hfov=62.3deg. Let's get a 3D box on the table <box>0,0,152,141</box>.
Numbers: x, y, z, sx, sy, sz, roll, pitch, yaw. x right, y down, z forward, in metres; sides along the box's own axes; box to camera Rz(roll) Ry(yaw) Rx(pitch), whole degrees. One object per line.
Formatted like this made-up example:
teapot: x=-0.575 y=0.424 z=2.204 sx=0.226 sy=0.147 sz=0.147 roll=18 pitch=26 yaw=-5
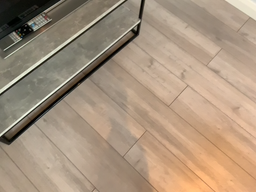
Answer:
table: x=-0.380 y=-0.330 z=1.130 sx=0.460 sy=0.450 sz=1.010 roll=41 pitch=70 yaw=12
